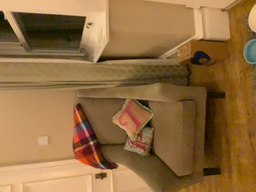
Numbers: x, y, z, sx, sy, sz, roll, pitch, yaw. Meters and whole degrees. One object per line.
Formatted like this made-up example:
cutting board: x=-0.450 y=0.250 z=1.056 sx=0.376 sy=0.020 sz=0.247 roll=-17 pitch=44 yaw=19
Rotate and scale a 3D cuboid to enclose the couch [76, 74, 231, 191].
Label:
couch: x=0.110 y=0.280 z=1.900 sx=0.870 sy=1.050 sz=0.840 roll=-143 pitch=53 yaw=-68
